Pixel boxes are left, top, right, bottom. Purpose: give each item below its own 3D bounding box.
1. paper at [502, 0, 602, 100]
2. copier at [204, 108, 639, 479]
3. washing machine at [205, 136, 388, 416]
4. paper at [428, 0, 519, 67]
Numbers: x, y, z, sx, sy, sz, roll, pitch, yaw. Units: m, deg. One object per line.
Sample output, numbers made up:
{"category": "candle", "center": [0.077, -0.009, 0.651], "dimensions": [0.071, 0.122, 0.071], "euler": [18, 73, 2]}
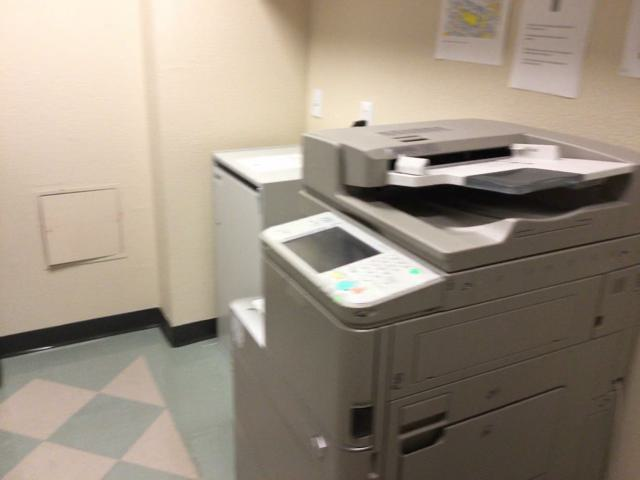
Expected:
{"category": "paper", "center": [0.550, -0.490, 1.380], "dimensions": [0.030, 0.280, 0.220], "euler": [-4, 20, -27]}
{"category": "copier", "center": [0.210, 0.350, 1.400], "dimensions": [0.780, 1.210, 0.680], "euler": [-4, 20, -27]}
{"category": "washing machine", "center": [-0.140, 0.100, 2.350], "dimensions": [0.470, 0.940, 0.590], "euler": [-4, 20, -27]}
{"category": "paper", "center": [0.420, -0.600, 1.610], "dimensions": [0.030, 0.210, 0.300], "euler": [-4, 20, -27]}
